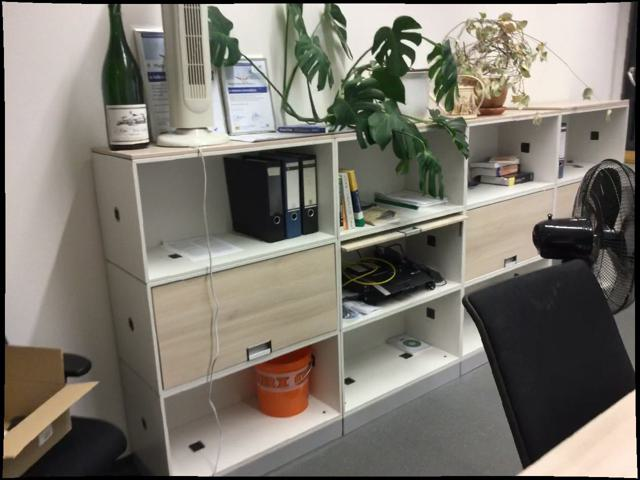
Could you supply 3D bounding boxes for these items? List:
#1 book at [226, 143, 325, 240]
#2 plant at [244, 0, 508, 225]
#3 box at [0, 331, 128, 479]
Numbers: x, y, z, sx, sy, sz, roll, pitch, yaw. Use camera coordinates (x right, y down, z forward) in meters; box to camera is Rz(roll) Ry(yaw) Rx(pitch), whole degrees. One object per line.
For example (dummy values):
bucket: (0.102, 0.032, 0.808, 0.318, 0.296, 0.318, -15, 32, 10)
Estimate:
book: (-0.180, -0.210, 2.340, 0.260, 0.320, 0.300, -14, 20, -36)
plant: (0.210, -0.641, 2.380, 0.800, 0.891, 0.660, -14, 25, -37)
box: (-0.879, 0.521, 1.600, 0.400, 0.290, 0.570, 2, 16, 12)
